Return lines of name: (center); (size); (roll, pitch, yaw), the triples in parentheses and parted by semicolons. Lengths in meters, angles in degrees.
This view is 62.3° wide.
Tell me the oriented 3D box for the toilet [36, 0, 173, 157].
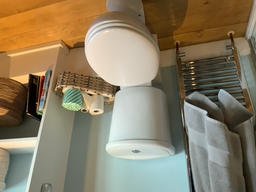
toilet: (-0.020, -0.150, 1.160); (0.400, 0.800, 0.690); (-7, 151, 15)
